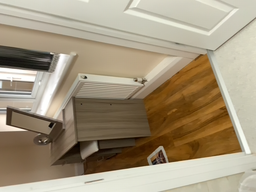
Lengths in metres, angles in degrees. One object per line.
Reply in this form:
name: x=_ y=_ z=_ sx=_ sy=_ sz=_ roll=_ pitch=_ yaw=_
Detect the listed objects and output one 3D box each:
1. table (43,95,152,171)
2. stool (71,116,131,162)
table: x=-0.470 y=0.500 z=2.500 sx=1.420 sy=0.760 sz=0.390 roll=-44 pitch=52 yaw=49
stool: x=-0.340 y=0.510 z=2.530 sx=0.510 sy=0.510 sz=0.380 roll=-42 pitch=53 yaw=50
